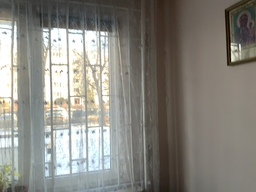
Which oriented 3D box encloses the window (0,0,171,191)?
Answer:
[{"bbox_3d":[-0.500,0.000,1.550,1.700,1.680,0.190,-1,0,-17],"label":"window"}]
